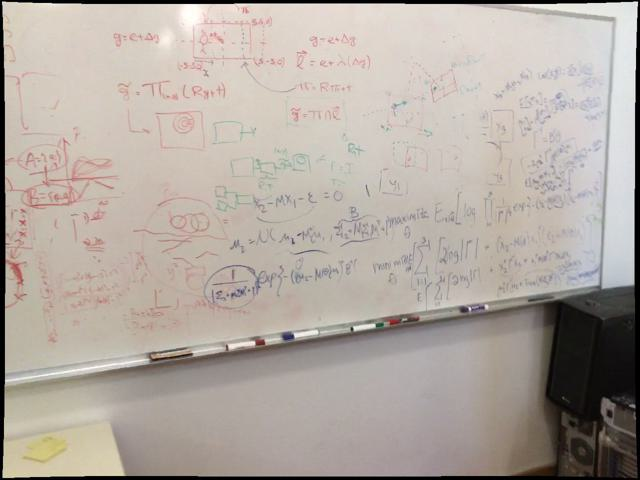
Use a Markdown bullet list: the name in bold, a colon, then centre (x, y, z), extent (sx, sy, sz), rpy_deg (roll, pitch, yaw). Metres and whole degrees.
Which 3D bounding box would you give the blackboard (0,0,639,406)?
- **blackboard**: centre (-0.150, -0.310, 1.880), extent (3.747, 1.381, 0.220), rpy_deg (-5, 11, -25)
